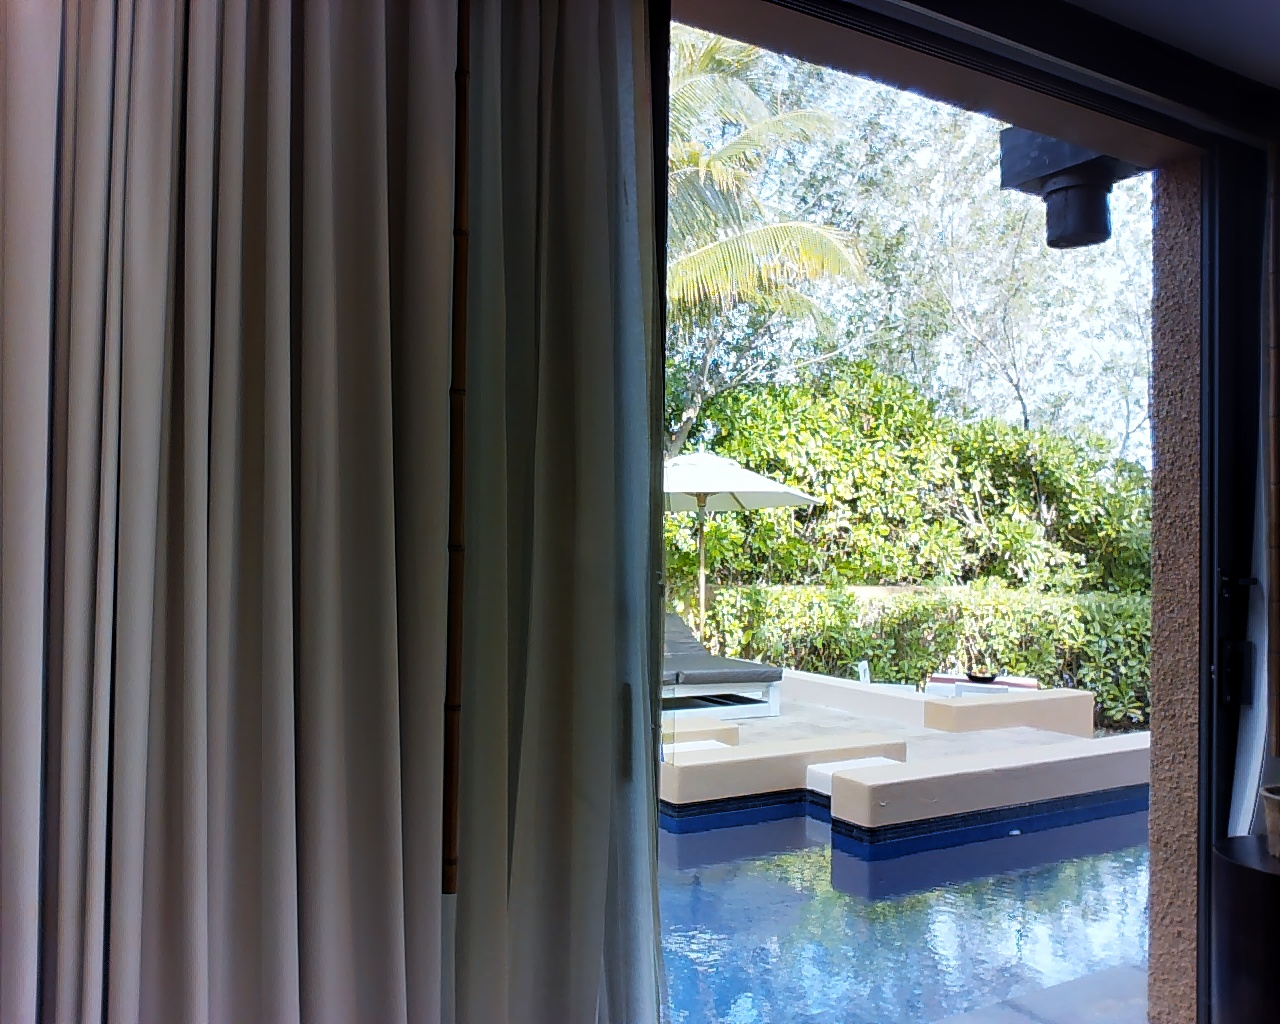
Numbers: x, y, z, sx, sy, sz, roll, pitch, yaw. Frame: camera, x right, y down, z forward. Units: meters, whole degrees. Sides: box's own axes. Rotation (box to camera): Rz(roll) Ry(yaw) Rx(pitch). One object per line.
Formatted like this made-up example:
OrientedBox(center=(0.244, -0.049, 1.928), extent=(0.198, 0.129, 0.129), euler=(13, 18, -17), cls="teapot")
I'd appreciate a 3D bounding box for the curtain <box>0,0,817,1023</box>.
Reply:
OrientedBox(center=(-0.380, 0.080, 1.550), extent=(1.370, 2.631, 0.290), euler=(1, -1, -30), cls="curtain")
